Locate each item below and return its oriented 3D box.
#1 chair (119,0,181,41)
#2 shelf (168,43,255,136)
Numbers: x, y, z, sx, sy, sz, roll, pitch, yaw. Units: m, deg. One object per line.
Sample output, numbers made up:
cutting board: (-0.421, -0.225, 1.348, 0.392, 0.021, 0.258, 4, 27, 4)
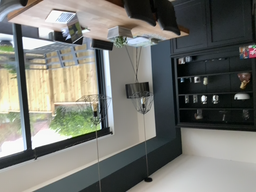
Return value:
chair: (0.270, -1.230, 2.700, 0.580, 0.880, 0.520, -3, -177, 36)
shelf: (1.470, -0.080, 3.780, 1.370, 1.420, 0.360, -2, -177, 37)
